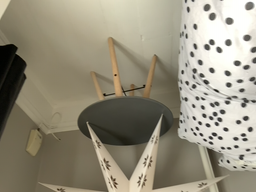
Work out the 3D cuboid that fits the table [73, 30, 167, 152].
[{"bbox_3d":[-0.010,0.000,1.200,0.390,0.420,0.510,-8,143,5],"label":"table"}]
